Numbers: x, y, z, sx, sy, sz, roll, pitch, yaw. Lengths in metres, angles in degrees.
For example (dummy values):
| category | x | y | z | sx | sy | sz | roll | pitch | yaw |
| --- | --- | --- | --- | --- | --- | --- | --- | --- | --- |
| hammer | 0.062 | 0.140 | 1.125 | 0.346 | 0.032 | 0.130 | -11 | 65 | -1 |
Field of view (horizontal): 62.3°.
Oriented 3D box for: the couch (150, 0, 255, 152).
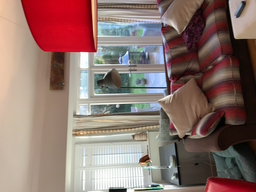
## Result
| category | x | y | z | sx | sy | sz | roll | pitch | yaw |
| --- | --- | --- | --- | --- | --- | --- | --- | --- | --- |
| couch | 0.910 | -0.690 | 2.940 | 1.090 | 0.830 | 2.780 | 110 | 157 | -75 |

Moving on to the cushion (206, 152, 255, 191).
| category | x | y | z | sx | sy | sz | roll | pitch | yaw |
| --- | --- | --- | --- | --- | --- | --- | --- | --- | --- |
| cushion | 1.310 | 1.090 | 2.610 | 0.810 | 0.220 | 0.770 | 111 | 156 | -75 |

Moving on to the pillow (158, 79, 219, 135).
| category | x | y | z | sx | sy | sz | roll | pitch | yaw |
| --- | --- | --- | --- | --- | --- | --- | --- | --- | --- |
| pillow | 0.750 | 0.130 | 2.690 | 0.470 | 0.550 | 0.200 | 48 | 163 | 33 |

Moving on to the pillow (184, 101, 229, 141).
| category | x | y | z | sx | sy | sz | roll | pitch | yaw |
| --- | --- | --- | --- | --- | --- | --- | --- | --- | --- |
| pillow | 0.880 | 0.300 | 2.420 | 0.160 | 0.380 | 0.400 | 39 | 164 | 4 |
